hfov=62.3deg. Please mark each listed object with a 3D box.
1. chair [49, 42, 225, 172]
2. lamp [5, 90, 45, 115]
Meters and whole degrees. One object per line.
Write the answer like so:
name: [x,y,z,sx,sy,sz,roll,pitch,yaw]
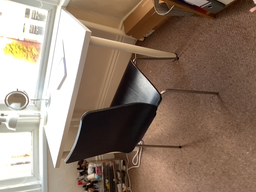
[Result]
chair: [0.040,0.060,1.260,0.450,0.830,0.450,54,130,43]
lamp: [-0.860,0.060,1.770,0.110,0.270,0.170,47,125,47]
